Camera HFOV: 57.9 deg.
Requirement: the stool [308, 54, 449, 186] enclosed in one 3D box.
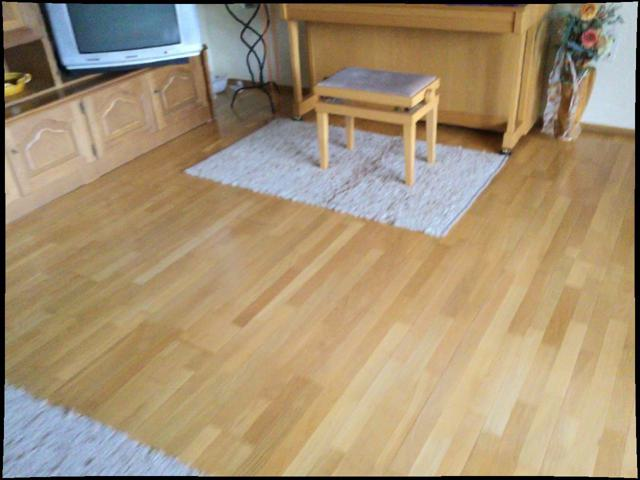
[{"bbox_3d":[0.300,-0.641,3.010,0.580,0.470,0.410,18,39,27],"label":"stool"}]
